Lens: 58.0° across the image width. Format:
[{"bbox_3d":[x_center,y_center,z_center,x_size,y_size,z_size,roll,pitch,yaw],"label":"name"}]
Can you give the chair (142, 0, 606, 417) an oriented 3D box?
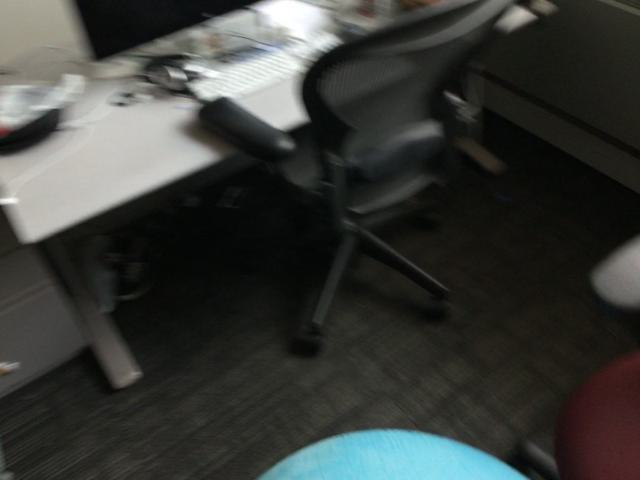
[{"bbox_3d":[0.100,-0.230,1.510,0.730,0.970,0.670,-27,49,-25],"label":"chair"}]
